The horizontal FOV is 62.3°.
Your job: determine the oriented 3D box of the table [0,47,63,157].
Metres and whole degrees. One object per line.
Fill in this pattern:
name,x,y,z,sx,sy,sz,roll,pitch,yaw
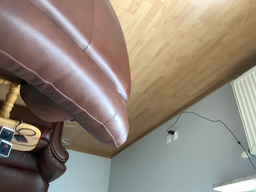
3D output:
table,-1.200,0.000,1.750,1.050,0.660,0.560,19,142,-21

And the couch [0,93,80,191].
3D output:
couch,-1.760,0.580,2.390,2.020,0.930,1.080,19,142,-22

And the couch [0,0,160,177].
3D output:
couch,-0.520,-0.270,1.050,0.960,0.960,1.080,-16,141,25
